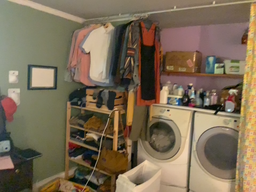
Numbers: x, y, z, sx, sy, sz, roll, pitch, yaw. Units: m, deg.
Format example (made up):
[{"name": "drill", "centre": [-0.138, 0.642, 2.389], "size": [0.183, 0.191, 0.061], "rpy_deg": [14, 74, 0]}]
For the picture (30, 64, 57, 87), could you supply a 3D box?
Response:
[{"name": "picture", "centre": [-1.070, -0.260, 2.700], "size": [0.050, 0.270, 0.350], "rpy_deg": [7, 7, 32]}]

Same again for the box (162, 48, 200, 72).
[{"name": "box", "centre": [0.770, -0.520, 3.090], "size": [0.430, 0.300, 0.310], "rpy_deg": [7, 7, 32]}]
